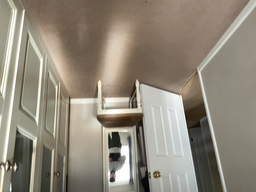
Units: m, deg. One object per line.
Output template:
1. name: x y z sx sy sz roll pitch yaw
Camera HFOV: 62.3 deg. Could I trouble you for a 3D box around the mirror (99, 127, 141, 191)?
1. mirror: -0.100 1.040 2.500 0.470 1.340 0.140 1 155 -7
